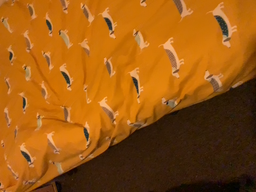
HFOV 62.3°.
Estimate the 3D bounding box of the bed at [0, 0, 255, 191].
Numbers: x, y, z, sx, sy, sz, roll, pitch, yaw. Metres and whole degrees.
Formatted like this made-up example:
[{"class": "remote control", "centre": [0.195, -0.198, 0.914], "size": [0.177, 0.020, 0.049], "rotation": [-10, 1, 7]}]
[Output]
[{"class": "bed", "centre": [-0.440, -0.060, 1.280], "size": [2.100, 0.580, 1.000], "rotation": [-34, 70, 22]}]
